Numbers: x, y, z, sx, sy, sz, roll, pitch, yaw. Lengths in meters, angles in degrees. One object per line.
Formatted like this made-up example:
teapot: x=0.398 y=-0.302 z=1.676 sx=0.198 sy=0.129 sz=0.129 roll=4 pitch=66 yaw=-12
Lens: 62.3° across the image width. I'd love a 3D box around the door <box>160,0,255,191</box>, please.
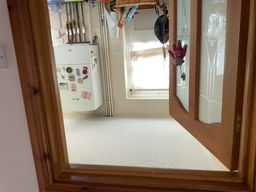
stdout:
door: x=0.340 y=-0.640 z=0.990 sx=0.160 sy=1.990 sz=0.830 roll=-5 pitch=-165 yaw=-7
